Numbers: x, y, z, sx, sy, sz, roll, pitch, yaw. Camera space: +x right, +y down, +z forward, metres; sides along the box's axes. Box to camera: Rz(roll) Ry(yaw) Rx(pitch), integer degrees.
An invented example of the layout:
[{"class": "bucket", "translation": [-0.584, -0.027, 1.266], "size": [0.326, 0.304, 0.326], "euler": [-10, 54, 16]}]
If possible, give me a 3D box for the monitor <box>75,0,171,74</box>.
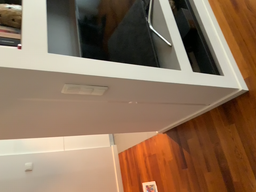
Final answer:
[{"class": "monitor", "translation": [-0.060, -0.590, 1.450], "size": [0.050, 0.600, 0.910], "euler": [-39, 55, 52]}]
